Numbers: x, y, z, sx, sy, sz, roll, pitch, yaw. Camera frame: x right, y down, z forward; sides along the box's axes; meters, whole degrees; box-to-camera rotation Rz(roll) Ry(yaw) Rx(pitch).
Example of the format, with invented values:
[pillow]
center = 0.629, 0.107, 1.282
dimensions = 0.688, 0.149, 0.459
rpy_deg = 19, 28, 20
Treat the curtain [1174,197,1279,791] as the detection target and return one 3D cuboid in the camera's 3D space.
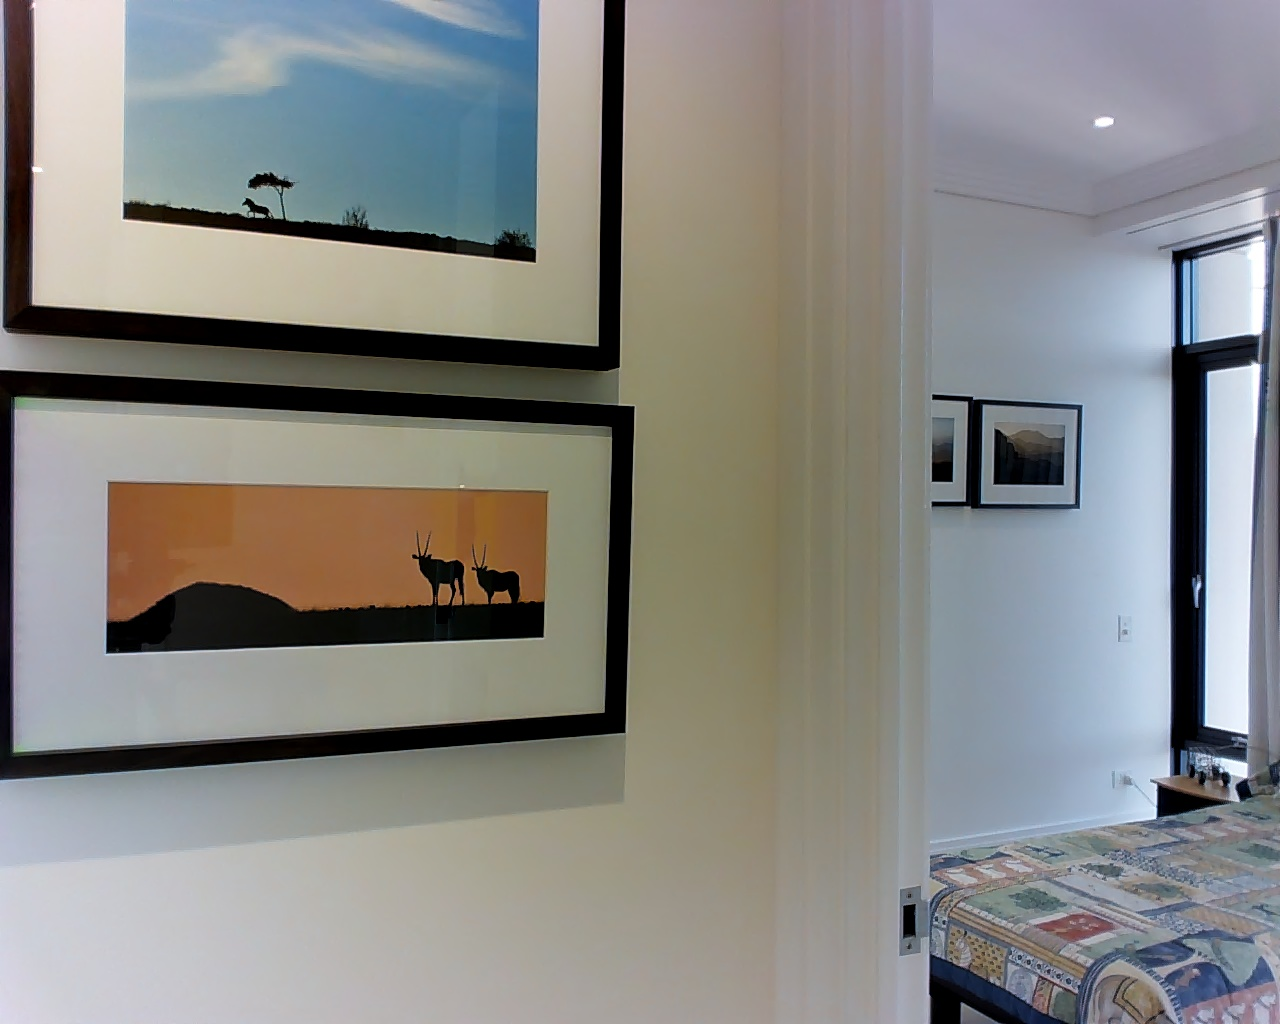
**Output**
[curtain]
center = 2.549, -0.070, 4.170
dimensions = 0.250, 2.261, 0.710
rpy_deg = 0, 5, -24
